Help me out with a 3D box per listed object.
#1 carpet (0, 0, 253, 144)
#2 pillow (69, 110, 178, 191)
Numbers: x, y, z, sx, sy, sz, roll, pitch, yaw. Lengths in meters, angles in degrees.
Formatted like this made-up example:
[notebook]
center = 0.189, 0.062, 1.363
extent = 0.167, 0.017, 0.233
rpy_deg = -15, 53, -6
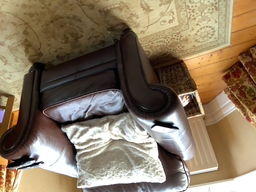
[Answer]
[carpet]
center = -0.730, -0.670, 0.820
extent = 3.640, 2.520, 0.050
rpy_deg = 56, -159, -54
[pillow]
center = -0.040, 0.420, 1.480
extent = 0.590, 0.460, 0.150
rpy_deg = 26, 151, 36
